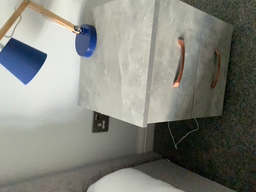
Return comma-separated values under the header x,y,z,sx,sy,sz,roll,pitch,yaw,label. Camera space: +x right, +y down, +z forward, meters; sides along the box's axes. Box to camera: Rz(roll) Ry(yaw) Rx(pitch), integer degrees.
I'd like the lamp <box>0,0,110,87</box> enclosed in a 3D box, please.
x,y,z,sx,sy,sz,roll,pitch,yaw,label
-0.260,-0.160,0.710,0.190,0.330,0.230,12,99,49,lamp
